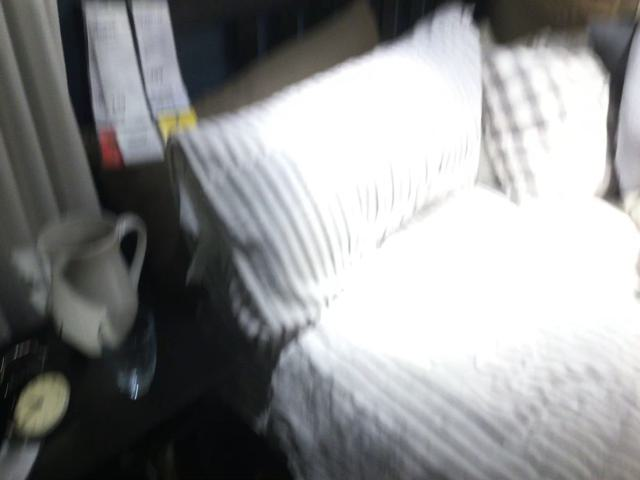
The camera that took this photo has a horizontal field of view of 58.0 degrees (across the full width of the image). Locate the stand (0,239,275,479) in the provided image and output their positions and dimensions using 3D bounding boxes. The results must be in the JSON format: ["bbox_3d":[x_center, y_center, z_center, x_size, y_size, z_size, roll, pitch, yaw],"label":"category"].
[{"bbox_3d":[-0.460,0.490,1.180,0.550,0.670,0.500,-30,42,-28],"label":"stand"}]
